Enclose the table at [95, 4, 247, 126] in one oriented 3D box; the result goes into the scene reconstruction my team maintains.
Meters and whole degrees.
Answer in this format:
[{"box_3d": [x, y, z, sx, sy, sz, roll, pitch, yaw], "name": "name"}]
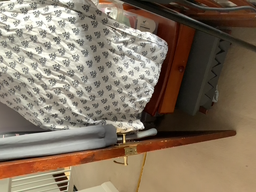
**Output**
[{"box_3d": [0.240, -0.210, 1.380, 0.610, 0.610, 0.560, 28, 111, 50], "name": "table"}]
